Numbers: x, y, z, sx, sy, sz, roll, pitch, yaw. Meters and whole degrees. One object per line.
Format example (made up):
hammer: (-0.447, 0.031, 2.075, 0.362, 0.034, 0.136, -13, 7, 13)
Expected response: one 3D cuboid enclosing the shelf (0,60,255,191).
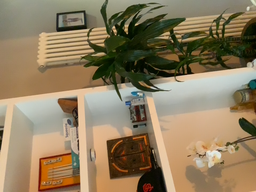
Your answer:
shelf: (-0.150, 0.290, 1.190, 0.310, 2.110, 0.730, 91, 171, -60)
